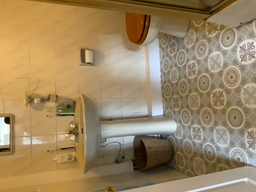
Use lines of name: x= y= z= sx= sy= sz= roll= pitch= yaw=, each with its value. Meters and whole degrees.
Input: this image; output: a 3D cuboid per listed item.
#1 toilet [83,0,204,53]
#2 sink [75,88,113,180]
toilet: x=0.080 y=-0.750 z=1.630 sx=0.500 sy=0.760 sz=0.660 roll=166 pitch=102 yaw=-68
sink: x=-0.290 y=0.280 z=1.730 sx=0.390 sy=0.210 sz=0.650 roll=167 pitch=101 yaw=-68
